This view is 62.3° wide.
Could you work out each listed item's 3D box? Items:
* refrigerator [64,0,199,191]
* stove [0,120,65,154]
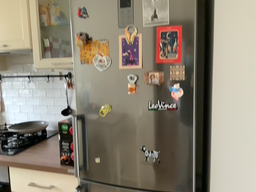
[{"bbox_3d":[0.100,0.280,1.320,0.590,1.880,0.700,1,8,16],"label":"refrigerator"},{"bbox_3d":[-0.920,0.300,1.680,0.590,0.050,0.560,1,8,16],"label":"stove"}]
